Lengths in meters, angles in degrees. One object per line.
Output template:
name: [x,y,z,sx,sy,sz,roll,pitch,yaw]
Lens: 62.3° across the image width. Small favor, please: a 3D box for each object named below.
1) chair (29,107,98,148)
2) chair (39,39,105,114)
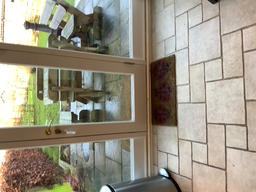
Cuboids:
chair: [-1.360,0.530,4.200,1.680,0.940,0.500,3,92,60]
chair: [-0.900,-0.260,3.430,0.470,0.940,1.060,-5,85,60]
